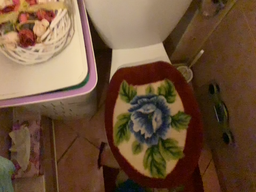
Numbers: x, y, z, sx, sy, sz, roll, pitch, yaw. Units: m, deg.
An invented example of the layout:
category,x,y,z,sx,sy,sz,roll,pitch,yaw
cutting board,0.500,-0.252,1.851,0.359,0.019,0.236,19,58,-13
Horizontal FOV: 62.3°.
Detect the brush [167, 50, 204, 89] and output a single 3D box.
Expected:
category,x,y,z,sx,sy,sz,roll,pitch,yaw
brush,0.310,-0.140,1.170,0.120,0.170,0.140,-9,75,-7
